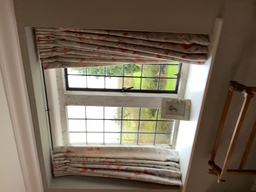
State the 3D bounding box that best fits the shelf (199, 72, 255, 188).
[{"bbox_3d":[1.110,0.280,1.630,0.280,0.900,0.850,-96,8,-65],"label":"shelf"}]
